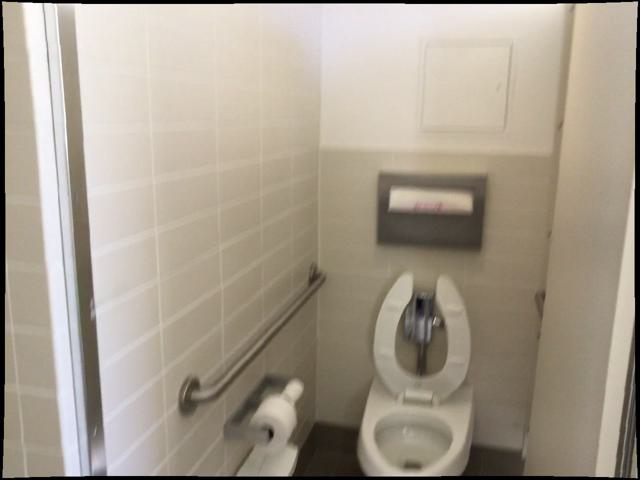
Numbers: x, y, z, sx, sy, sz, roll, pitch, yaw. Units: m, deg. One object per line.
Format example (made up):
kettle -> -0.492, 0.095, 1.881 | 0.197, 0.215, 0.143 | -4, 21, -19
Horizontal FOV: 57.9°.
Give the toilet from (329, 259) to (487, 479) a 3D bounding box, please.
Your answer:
toilet -> 0.340, 0.490, 2.050 | 0.440, 0.671, 0.690 | 3, 14, 16
